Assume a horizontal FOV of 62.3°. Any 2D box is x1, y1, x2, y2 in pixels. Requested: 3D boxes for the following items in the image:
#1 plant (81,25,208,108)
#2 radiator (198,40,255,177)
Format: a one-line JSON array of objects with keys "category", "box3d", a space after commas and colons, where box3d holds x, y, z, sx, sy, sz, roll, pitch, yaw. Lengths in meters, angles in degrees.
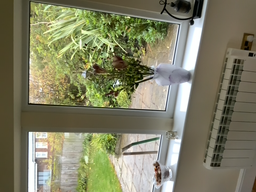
[{"category": "plant", "box3d": [0.060, -0.260, 1.740, 0.600, 0.840, 0.450, -118, 35, -64]}, {"category": "radiator", "box3d": [0.980, 0.140, 1.730, 0.120, 0.600, 1.080, -132, 48, -71]}]
